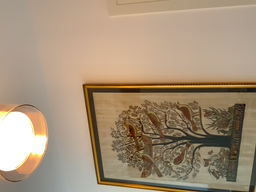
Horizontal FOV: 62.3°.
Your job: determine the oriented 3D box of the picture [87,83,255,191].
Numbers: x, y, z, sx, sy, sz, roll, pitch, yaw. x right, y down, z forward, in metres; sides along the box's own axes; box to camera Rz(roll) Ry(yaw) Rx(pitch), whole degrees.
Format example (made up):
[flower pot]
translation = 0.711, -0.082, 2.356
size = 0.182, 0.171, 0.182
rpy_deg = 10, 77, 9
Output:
[picture]
translation = 0.250, 0.270, 1.210
size = 0.040, 0.920, 0.710
rpy_deg = -57, -34, -64
